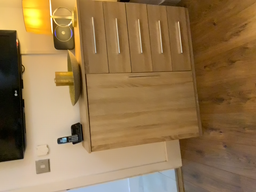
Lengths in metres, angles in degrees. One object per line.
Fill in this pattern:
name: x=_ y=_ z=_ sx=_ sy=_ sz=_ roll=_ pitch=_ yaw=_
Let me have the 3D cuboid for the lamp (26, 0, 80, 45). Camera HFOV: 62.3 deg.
lamp: x=-0.520 y=-0.560 z=1.480 sx=0.350 sy=0.310 sz=0.290 roll=164 pitch=101 yaw=-70
